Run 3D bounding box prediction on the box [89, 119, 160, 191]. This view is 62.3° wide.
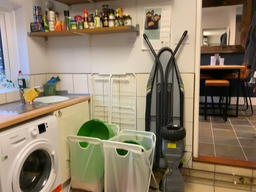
[{"bbox_3d":[0.010,0.620,1.980,0.470,0.630,0.600,2,10,19],"label":"box"}]

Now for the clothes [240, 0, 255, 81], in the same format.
[{"bbox_3d":[1.390,-0.730,2.220,0.250,1.110,0.430,2,10,18],"label":"clothes"}]

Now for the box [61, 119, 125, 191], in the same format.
[{"bbox_3d":[-0.320,0.620,2.200,0.370,0.580,0.620,2,10,19],"label":"box"}]

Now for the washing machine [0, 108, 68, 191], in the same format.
[{"bbox_3d":[-0.990,0.590,1.730,0.670,0.830,0.640,2,10,19],"label":"washing machine"}]
